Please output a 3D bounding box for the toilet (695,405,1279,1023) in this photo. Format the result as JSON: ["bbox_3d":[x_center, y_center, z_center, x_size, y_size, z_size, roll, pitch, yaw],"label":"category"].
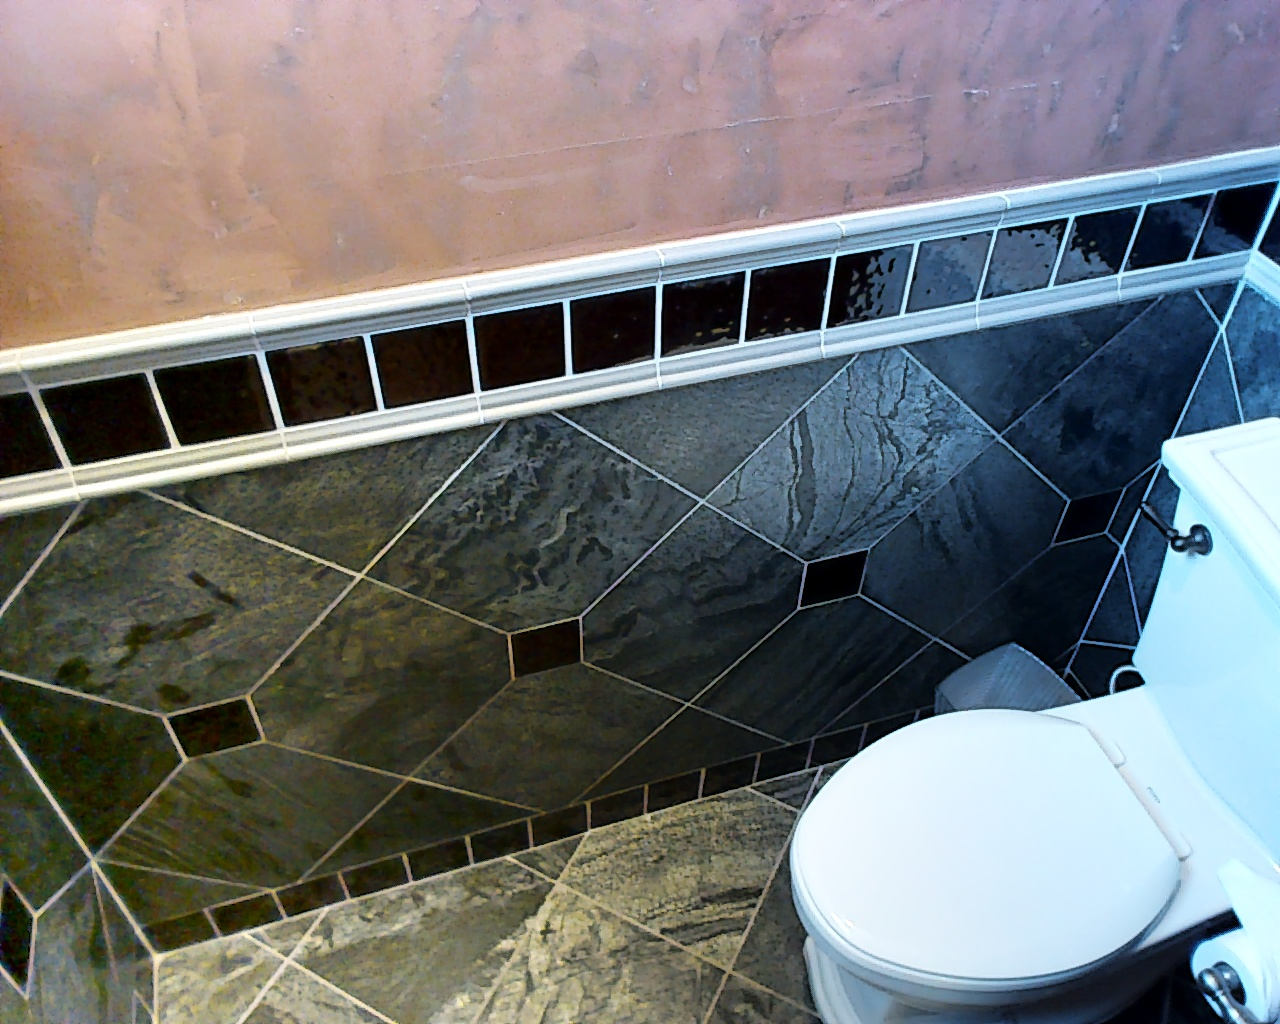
[{"bbox_3d":[0.540,0.410,1.350,0.760,0.760,0.590,-12,45,-12],"label":"toilet"}]
